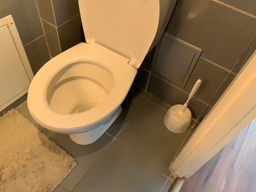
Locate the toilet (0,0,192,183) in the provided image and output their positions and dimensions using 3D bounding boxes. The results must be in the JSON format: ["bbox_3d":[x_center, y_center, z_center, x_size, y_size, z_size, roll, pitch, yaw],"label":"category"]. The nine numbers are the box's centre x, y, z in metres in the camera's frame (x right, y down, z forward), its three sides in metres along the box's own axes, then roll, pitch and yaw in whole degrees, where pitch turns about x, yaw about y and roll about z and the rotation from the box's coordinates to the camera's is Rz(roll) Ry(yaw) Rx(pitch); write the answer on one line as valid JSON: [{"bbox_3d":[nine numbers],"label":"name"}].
[{"bbox_3d":[-0.120,-0.130,0.890,0.390,0.790,0.640,32,56,16],"label":"toilet"}]
